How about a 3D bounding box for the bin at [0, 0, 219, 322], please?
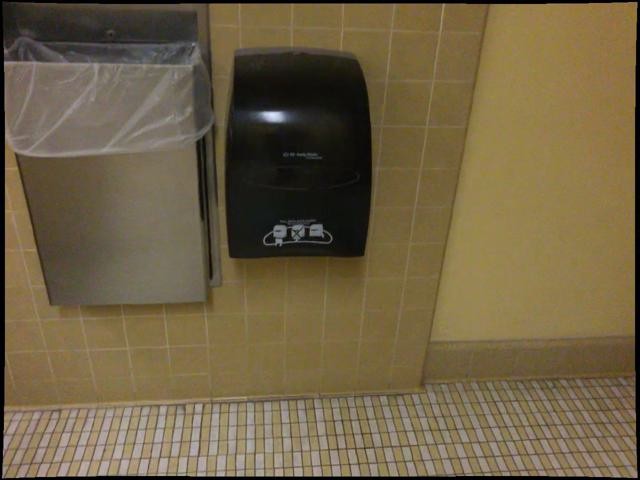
[{"bbox_3d":[-0.479,-0.281,1.300,0.449,0.962,0.250,-1,31,-7],"label":"bin"}]
